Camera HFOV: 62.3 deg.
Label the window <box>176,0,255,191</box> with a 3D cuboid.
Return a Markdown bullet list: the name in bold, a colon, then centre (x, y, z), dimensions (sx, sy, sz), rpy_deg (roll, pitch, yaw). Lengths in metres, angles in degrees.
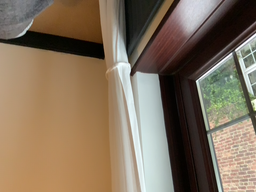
- **window**: centre (0.440, 0.360, 0.490), dimensions (0.030, 1.390, 0.790), rpy_deg (6, 155, -20)
